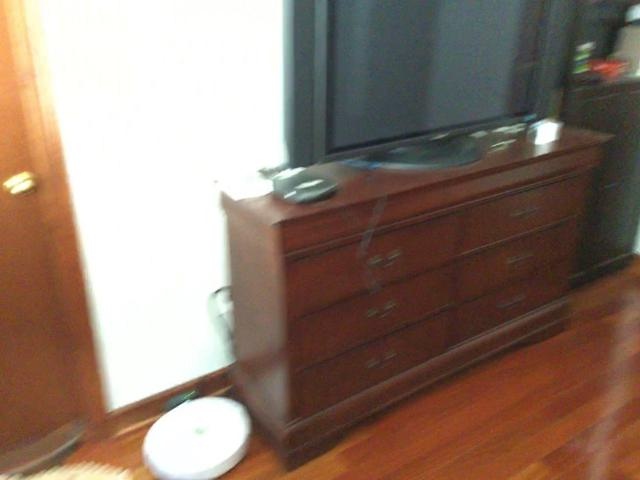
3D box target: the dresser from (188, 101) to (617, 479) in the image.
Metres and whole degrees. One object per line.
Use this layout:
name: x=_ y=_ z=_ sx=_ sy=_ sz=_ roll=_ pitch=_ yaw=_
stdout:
dresser: x=0.350 y=0.080 z=2.170 sx=1.450 sy=0.940 sz=0.500 roll=-15 pitch=26 yaw=-26

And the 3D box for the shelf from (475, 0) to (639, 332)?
shelf: x=1.230 y=-0.690 z=2.480 sx=0.950 sy=1.970 sz=0.440 roll=-15 pitch=26 yaw=-26
